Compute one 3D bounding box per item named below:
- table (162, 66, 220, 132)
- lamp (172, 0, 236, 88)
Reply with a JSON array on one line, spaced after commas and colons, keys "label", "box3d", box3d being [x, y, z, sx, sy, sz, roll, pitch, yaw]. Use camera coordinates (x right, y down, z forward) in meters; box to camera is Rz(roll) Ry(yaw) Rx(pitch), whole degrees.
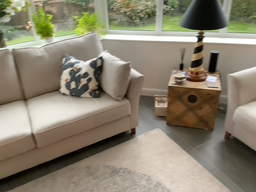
[{"label": "table", "box3d": [0.700, 0.010, 2.410, 0.520, 0.500, 0.530, 7, 32, 14]}, {"label": "lamp", "box3d": [0.720, -0.560, 2.120, 0.440, 0.790, 0.450, 8, 32, 15]}]
